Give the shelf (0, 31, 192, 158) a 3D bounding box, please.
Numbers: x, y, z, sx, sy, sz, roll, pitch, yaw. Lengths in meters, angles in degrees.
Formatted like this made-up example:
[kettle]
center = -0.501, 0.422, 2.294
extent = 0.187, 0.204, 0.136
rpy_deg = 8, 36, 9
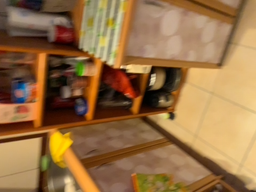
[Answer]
[shelf]
center = -0.310, -0.040, 1.170
extent = 0.330, 1.550, 0.480
rpy_deg = 33, 118, 45
